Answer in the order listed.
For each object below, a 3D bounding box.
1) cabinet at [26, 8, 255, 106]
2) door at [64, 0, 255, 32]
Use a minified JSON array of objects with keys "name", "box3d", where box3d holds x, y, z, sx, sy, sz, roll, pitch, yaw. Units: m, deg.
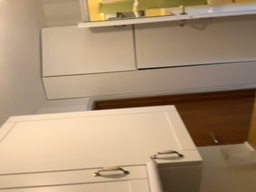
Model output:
[{"name":"cabinet","box3d":[0.360,-0.450,2.260,0.570,2.470,0.730,-96,1,-66]},{"name":"door","box3d":[0.550,-0.840,2.080,0.750,2.180,0.070,-95,1,-59]}]
